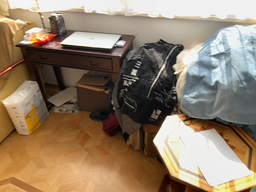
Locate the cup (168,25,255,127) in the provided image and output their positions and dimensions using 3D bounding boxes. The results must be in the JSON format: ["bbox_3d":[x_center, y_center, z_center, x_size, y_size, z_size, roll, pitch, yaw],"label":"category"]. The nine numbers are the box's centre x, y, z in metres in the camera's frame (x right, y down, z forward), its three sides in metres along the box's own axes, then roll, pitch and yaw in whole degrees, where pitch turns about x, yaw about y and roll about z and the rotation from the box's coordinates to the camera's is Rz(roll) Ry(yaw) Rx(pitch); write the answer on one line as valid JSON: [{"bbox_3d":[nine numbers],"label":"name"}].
[{"bbox_3d":[0.630,-0.170,1.350,0.570,0.300,0.610,15,40,20],"label":"cup"}]
